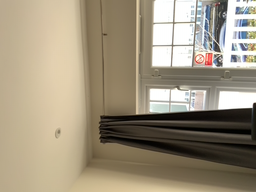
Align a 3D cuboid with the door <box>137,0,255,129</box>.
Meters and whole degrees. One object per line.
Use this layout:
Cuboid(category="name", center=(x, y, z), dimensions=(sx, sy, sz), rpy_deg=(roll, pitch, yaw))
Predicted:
Cuboid(category="door", center=(1.170, -0.660, 2.180), dimensions=(0.070, 2.140, 2.040), rpy_deg=(-44, -44, -75))
